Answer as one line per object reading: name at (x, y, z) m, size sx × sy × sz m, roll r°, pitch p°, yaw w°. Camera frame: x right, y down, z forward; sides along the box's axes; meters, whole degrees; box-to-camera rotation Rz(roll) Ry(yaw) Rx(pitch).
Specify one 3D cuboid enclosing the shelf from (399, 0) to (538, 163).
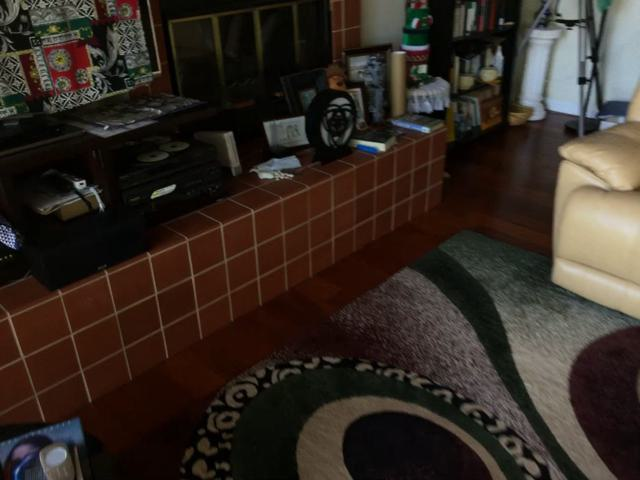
shelf at (0.980, -1.520, 3.720) m, size 0.420 × 1.770 × 0.960 m, roll 18°, pitch 37°, yaw 42°
